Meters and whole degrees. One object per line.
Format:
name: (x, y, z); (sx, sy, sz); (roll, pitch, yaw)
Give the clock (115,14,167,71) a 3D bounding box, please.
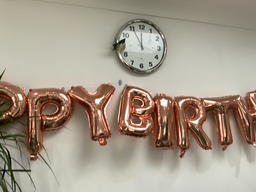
clock: (0.090, -0.340, 1.380); (0.350, 0.340, 0.020); (1, -5, -19)
